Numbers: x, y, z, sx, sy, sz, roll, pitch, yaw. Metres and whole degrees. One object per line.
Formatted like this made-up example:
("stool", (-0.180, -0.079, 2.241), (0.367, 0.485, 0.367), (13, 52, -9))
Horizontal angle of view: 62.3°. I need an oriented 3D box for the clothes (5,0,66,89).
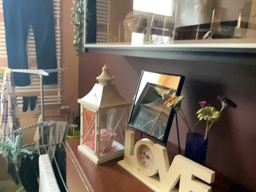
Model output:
("clothes", (-0.990, -0.670, 2.310), (0.580, 1.160, 0.100), (-3, 13, -28))
